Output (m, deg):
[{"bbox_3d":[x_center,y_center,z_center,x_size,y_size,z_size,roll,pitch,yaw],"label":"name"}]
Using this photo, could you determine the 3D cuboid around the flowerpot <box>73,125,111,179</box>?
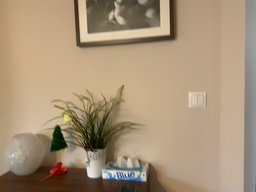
[{"bbox_3d":[-0.190,0.300,1.160,0.160,0.250,0.130,-1,5,12],"label":"flowerpot"}]
